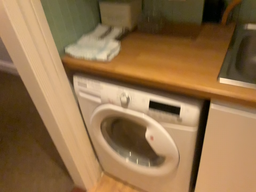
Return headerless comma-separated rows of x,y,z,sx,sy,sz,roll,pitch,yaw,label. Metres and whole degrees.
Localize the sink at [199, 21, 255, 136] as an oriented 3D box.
0.610,-0.080,0.860,0.480,0.220,0.500,15,45,25,sink
